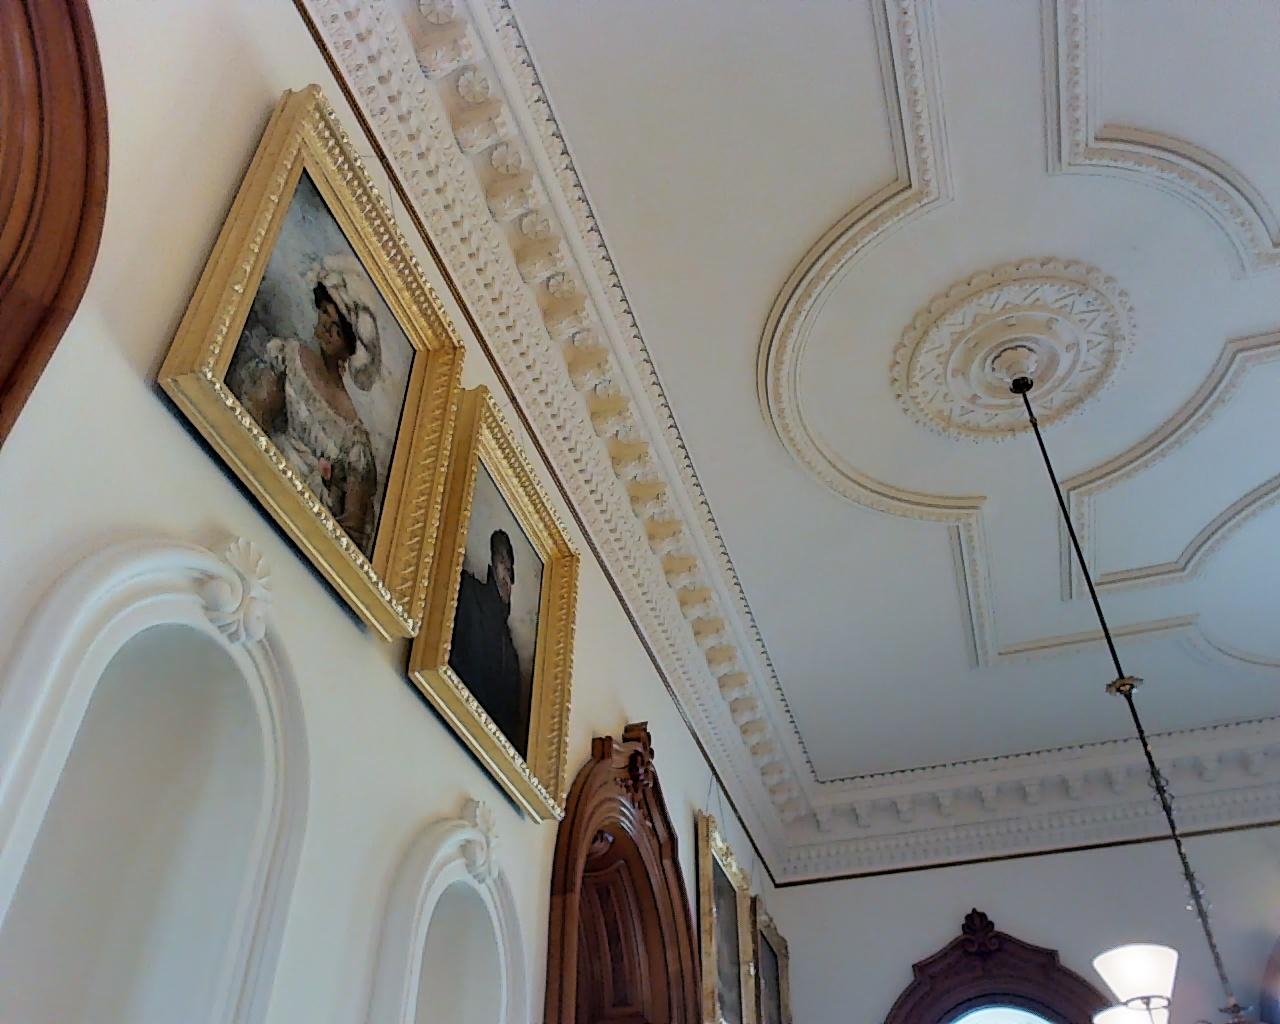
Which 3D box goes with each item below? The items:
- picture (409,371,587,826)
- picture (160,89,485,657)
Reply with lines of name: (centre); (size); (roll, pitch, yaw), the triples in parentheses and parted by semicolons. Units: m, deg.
picture: (-0.450, 0.300, 3.890); (0.130, 1.290, 1.010); (-12, -43, 13)
picture: (-0.800, -0.410, 3.110); (0.160, 1.270, 1.050); (-12, -43, 13)
